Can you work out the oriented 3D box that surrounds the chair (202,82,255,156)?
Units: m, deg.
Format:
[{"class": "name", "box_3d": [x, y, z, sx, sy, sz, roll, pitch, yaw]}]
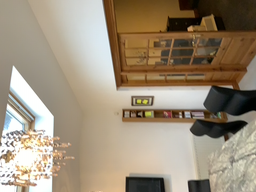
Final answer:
[{"class": "chair", "box_3d": [1.290, 0.220, 2.010, 0.370, 0.980, 0.600, 87, -176, -61]}]

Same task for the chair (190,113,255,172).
[{"class": "chair", "box_3d": [1.310, 0.560, 2.530, 0.370, 0.980, 0.600, 87, -176, -61]}]

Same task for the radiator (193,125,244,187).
[{"class": "radiator", "box_3d": [1.550, 1.030, 3.730, 0.210, 0.590, 1.030, 87, -177, -57]}]
